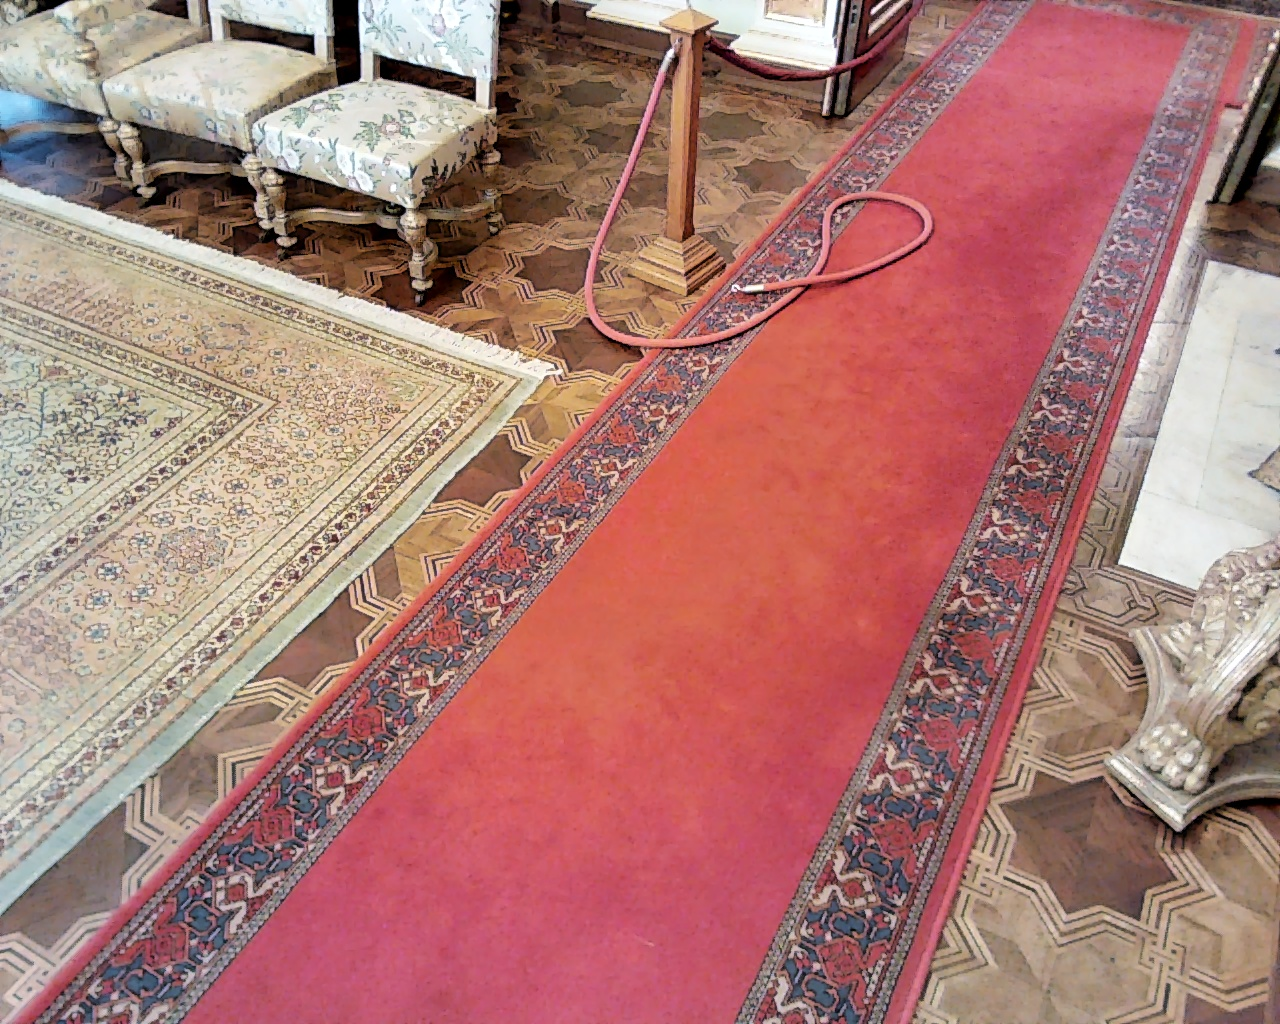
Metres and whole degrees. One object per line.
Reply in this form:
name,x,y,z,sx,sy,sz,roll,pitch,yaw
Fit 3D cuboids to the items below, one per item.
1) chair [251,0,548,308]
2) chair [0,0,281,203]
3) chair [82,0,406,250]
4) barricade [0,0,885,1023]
chair,-0.680,-1.270,3.200,0.520,1.040,0.610,21,46,20
chair,-1.860,-1.810,3.650,0.730,1.160,0.690,18,45,18
chair,-1.270,-1.540,3.480,0.600,1.060,0.670,17,45,17
barricade,-0.410,-0.410,2.450,0.290,0.800,4.860,21,46,20
